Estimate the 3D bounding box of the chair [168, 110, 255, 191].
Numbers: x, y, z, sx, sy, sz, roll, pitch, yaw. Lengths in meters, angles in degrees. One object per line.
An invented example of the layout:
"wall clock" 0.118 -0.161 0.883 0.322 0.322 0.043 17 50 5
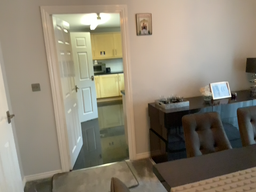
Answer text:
"chair" 0.660 0.660 1.620 0.450 0.940 0.600 -7 12 -16
